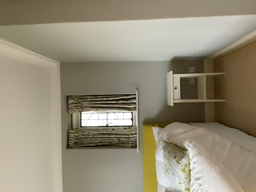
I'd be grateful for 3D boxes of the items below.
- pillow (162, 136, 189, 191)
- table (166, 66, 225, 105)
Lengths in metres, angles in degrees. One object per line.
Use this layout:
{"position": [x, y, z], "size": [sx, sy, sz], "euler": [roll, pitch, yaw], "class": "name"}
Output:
{"position": [0.520, 0.750, 2.380], "size": [0.420, 0.220, 0.510], "euler": [-16, -75, -88], "class": "pillow"}
{"position": [0.910, -0.130, 2.960], "size": [0.480, 0.670, 0.480], "euler": [2, -93, -88], "class": "table"}
